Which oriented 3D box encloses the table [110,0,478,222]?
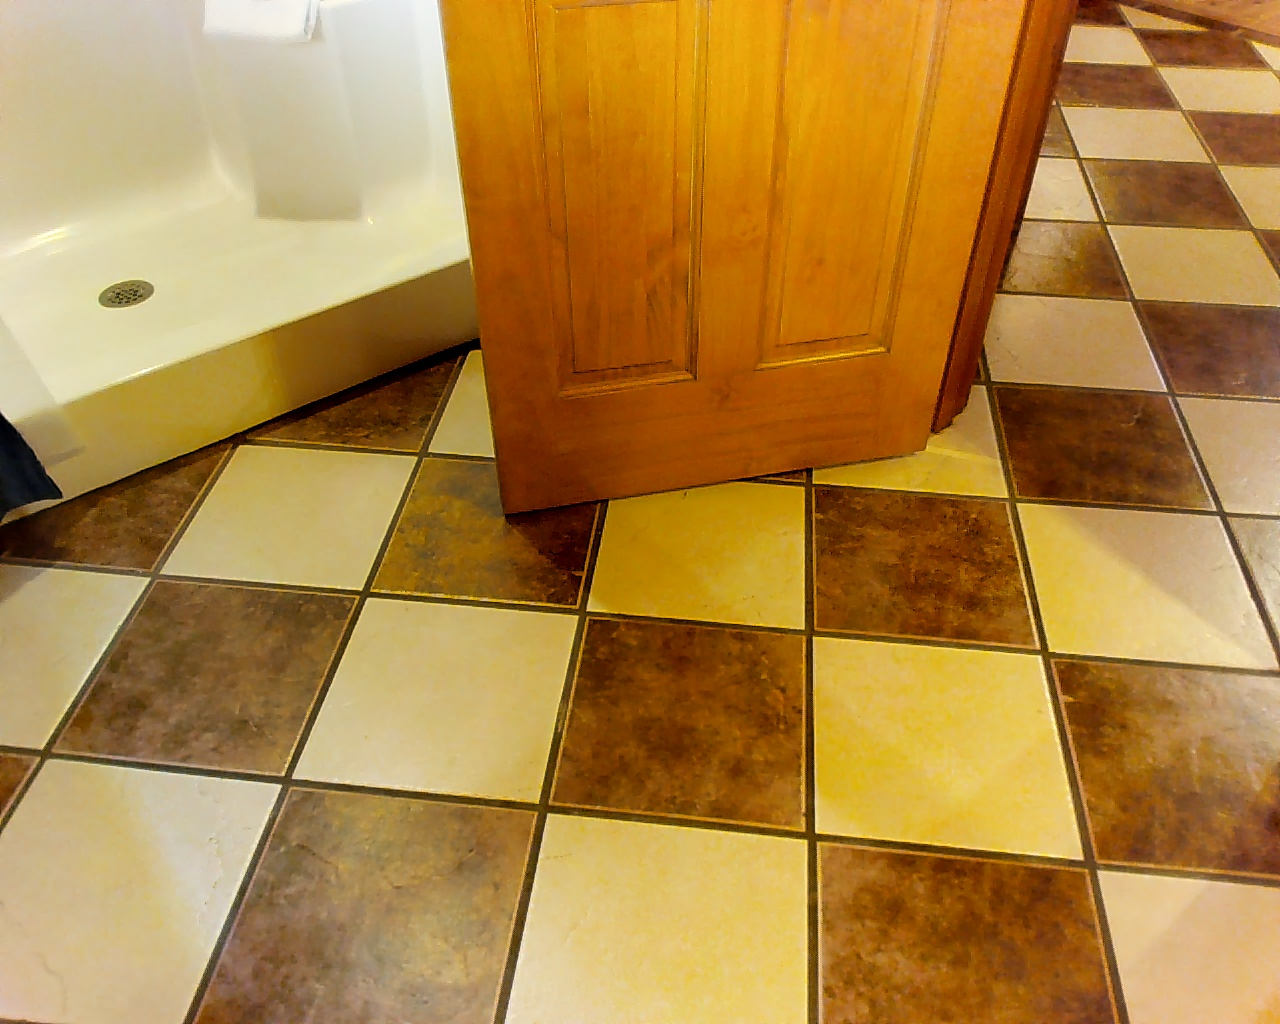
[{"bbox_3d":[-0.710,-0.960,2.330,0.590,0.490,0.400,3,43,4],"label":"table"}]
